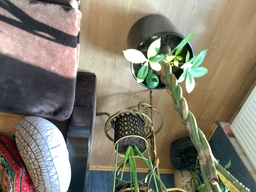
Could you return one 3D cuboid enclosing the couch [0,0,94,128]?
[{"bbox_3d":[-0.600,-0.280,0.980,0.750,0.500,0.510,15,124,-17],"label":"couch"}]

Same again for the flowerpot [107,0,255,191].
[{"bbox_3d":[0.210,-0.030,0.800,0.410,1.150,0.380,-32,124,17],"label":"flowerpot"}]

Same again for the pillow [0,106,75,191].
[{"bbox_3d":[-0.440,0.430,1.110,0.220,0.470,0.750,11,153,-9],"label":"pillow"}]
